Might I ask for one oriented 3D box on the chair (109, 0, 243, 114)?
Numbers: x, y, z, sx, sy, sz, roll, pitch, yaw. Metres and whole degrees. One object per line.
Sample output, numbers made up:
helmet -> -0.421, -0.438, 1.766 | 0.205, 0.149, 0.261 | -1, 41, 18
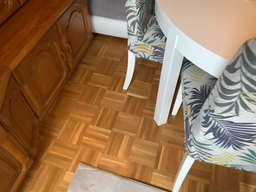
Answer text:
chair -> 0.240, -0.420, 1.230 | 0.540, 0.970, 0.480 | 13, 54, 9

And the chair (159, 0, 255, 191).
chair -> 0.470, 0.060, 0.860 | 0.500, 0.980, 0.540 | 11, 53, 7
